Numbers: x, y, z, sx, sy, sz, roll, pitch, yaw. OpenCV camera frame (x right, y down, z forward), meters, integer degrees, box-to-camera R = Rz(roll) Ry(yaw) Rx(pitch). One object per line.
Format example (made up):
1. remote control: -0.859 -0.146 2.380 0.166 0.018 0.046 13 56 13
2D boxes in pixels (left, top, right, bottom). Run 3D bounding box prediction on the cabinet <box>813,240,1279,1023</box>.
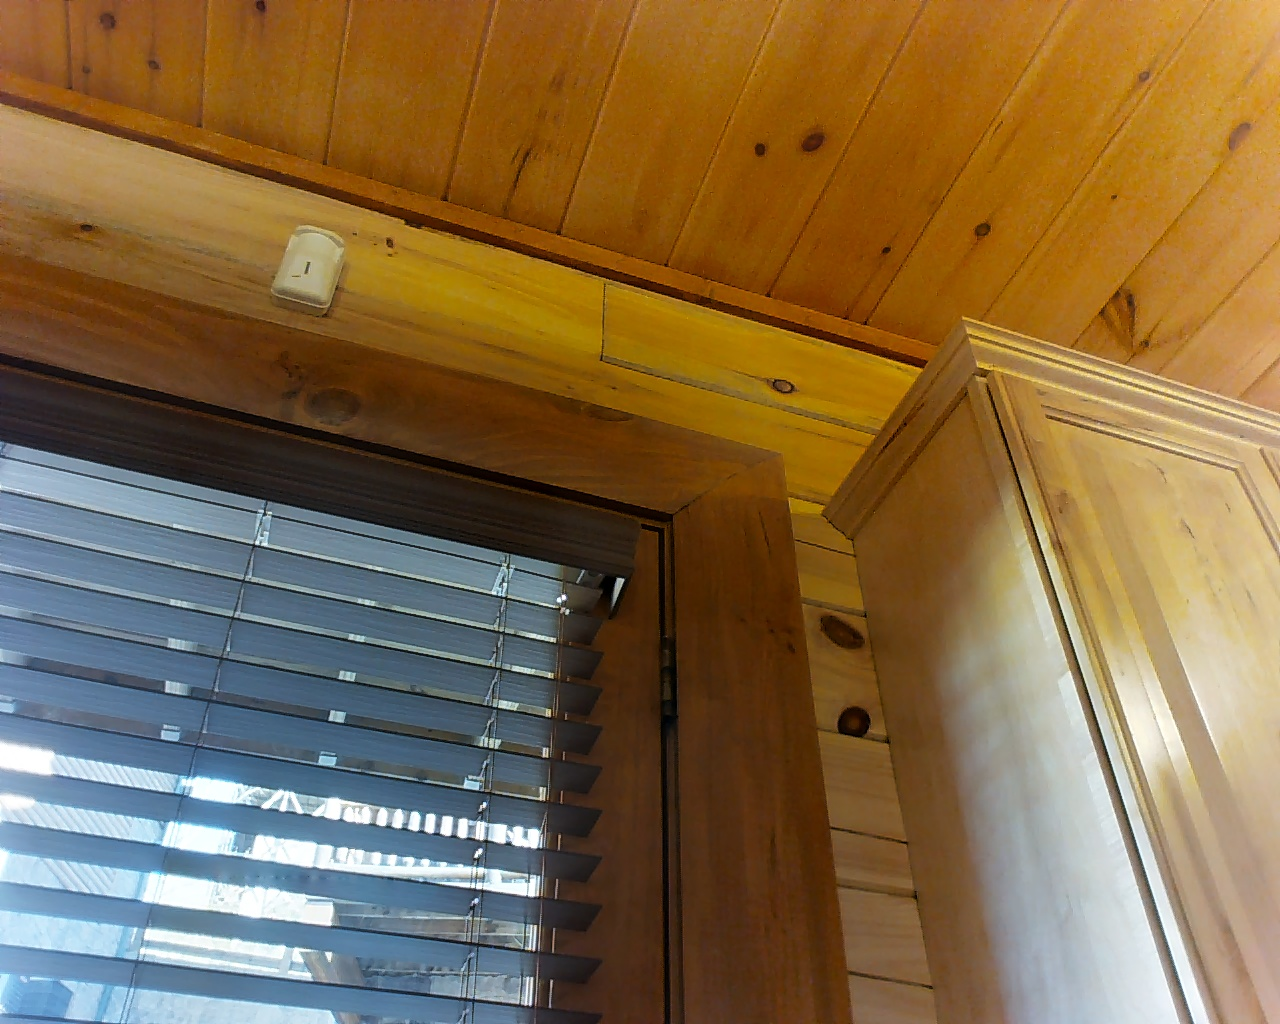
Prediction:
1. cabinet: 0.700 0.210 1.230 0.830 0.940 0.340 13 -44 -14
